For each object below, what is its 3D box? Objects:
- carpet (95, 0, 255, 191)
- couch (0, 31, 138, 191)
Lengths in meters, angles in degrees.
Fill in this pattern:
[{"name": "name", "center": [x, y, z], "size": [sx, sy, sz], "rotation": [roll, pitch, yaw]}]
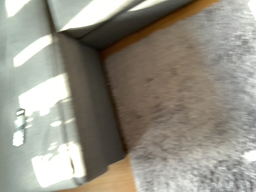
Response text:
[{"name": "carpet", "center": [0.690, 0.030, 0.950], "size": [1.770, 0.050, 1.290], "rotation": [-19, 79, 27]}, {"name": "couch", "center": [-0.600, 0.210, 1.390], "size": [1.100, 0.460, 0.720], "rotation": [-20, 78, 27]}]
